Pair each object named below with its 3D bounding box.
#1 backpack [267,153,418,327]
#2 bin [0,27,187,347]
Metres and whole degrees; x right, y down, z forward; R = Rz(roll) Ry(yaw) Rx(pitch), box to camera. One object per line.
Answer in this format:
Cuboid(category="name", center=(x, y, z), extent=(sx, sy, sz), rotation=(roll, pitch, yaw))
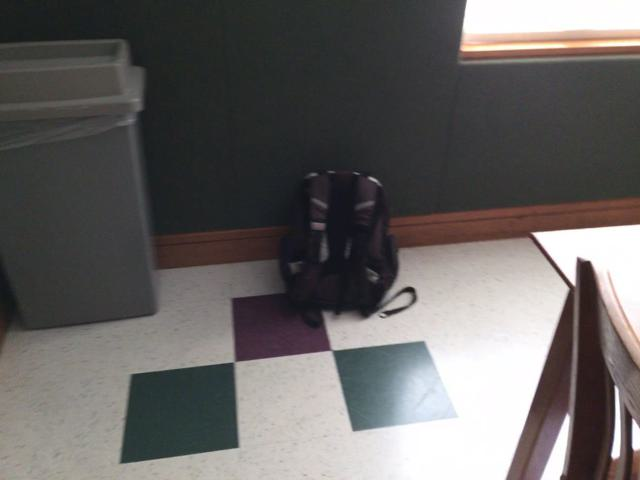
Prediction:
Cuboid(category="backpack", center=(0.060, -0.010, 1.960), extent=(0.420, 0.420, 0.360), rotation=(-6, 34, -7))
Cuboid(category="bin", center=(-0.730, -0.140, 1.740), extent=(0.520, 0.860, 0.330), rotation=(-6, 34, -7))
